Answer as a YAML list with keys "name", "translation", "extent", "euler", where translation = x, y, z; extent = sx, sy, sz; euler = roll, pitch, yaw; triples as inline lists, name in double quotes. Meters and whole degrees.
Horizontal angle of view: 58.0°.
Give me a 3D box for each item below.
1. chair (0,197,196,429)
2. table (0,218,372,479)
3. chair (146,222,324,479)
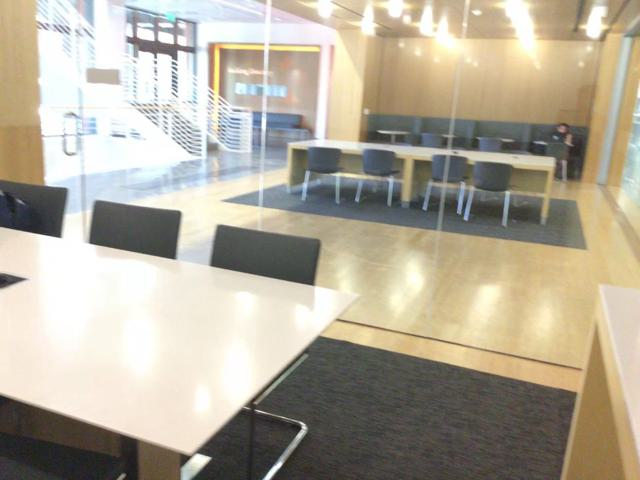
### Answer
- name: "chair"
  translation: [-0.940, 0.270, 2.520]
  extent: [0.570, 0.770, 0.540]
  euler: [9, 16, 19]
- name: "table"
  translation: [-1.100, 0.490, 2.100]
  extent: [2.270, 0.730, 1.190]
  euler: [10, 16, 19]
- name: "chair"
  translation: [-0.310, 0.390, 2.220]
  extent: [0.430, 0.770, 0.560]
  euler: [9, 16, 19]
